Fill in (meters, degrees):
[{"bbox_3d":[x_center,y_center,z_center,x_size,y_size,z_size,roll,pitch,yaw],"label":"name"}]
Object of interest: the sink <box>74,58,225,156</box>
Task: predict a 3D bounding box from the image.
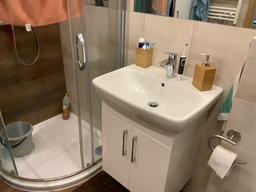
[{"bbox_3d":[0.100,-0.010,1.200,0.690,0.160,0.450,24,35,34],"label":"sink"}]
